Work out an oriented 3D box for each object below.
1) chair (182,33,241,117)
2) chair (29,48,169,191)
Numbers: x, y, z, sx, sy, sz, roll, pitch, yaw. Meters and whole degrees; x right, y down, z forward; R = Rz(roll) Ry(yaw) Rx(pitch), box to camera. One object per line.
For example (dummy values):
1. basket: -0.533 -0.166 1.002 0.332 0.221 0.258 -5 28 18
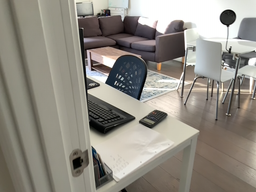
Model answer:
1. chair: 1.000 -0.270 2.590 0.460 0.870 0.380 -22 32 -37
2. chair: -0.180 0.220 1.500 0.610 0.920 0.620 -21 32 -36
